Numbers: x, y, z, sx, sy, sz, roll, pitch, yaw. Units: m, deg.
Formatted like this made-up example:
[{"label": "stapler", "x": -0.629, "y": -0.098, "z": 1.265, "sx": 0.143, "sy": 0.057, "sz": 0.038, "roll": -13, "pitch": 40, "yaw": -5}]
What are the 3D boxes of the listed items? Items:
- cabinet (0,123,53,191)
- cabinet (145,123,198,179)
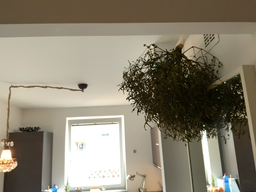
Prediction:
[{"label": "cabinet", "x": -1.760, "y": 1.570, "z": 3.620, "sx": 0.610, "sy": 2.150, "sz": 0.660, "roll": 1, "pitch": -12, "yaw": -5}, {"label": "cabinet", "x": 0.590, "y": 0.830, "z": 3.390, "sx": 0.340, "sy": 0.660, "sz": 1.690, "roll": 1, "pitch": -12, "yaw": -5}]
